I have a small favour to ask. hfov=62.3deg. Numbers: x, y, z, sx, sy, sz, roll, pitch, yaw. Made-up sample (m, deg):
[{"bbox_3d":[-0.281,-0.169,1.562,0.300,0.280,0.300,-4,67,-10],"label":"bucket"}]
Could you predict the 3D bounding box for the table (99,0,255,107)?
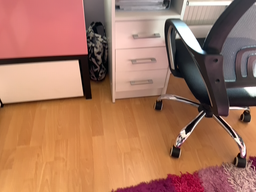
[{"bbox_3d":[0.460,-0.470,1.400,1.240,0.740,0.640,-5,45,-9],"label":"table"}]
